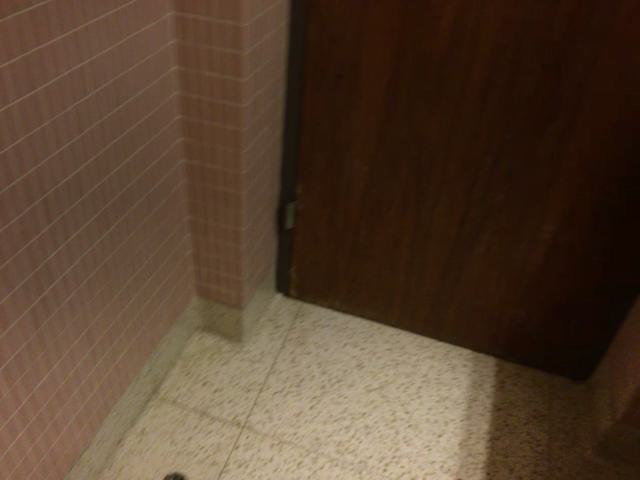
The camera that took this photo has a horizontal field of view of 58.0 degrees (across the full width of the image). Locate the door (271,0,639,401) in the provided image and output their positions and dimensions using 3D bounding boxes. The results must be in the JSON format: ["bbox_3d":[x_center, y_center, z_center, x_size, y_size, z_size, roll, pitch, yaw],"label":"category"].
[{"bbox_3d":[0.340,-0.280,1.150,0.880,1.430,0.070,15,39,12],"label":"door"}]
